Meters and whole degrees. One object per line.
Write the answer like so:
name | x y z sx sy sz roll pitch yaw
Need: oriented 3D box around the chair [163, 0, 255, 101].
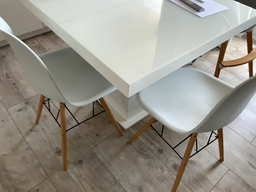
chair | 0.630 -0.490 1.560 0.430 0.930 0.400 -32 56 -30
